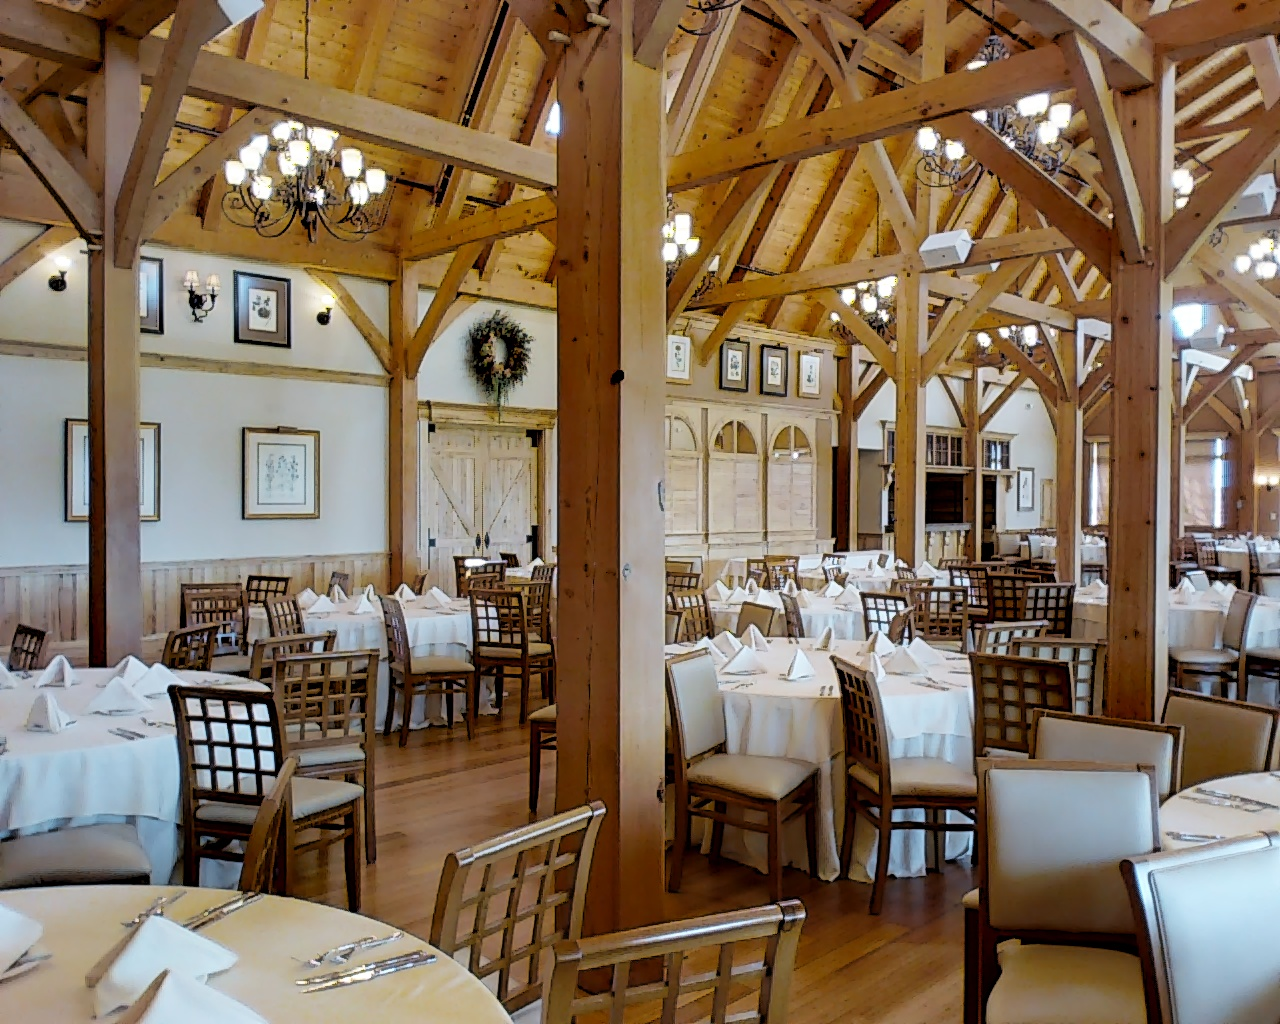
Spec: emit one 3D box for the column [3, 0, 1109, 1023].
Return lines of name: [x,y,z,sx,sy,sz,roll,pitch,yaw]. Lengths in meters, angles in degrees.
column: [-0.150,-1.050,3.250,1.820,5.049,2.980,0,1,-1]

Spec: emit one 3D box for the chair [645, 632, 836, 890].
chair: [0.410,0.970,4.360,0.630,0.870,0.450,1,1,34]

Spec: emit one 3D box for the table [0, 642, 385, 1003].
table: [-2.380,1.080,4.180,2.010,0.750,1.920,1,2,45]

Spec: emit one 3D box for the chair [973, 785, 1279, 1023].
chair: [1.070,1.070,2.350,0.590,0.770,0.520,1,1,11]

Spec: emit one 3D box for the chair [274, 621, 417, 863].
chair: [-1.300,0.980,4.720,0.510,0.920,0.400,1,2,44]

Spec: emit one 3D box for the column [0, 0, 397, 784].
column: [-3.160,-1.100,6.440,2.970,4.959,1.930,0,1,-1]

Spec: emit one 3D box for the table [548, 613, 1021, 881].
table: [0.850,1.020,5.380,1.920,0.730,1.990,1,1,22]

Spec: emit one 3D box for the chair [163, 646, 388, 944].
chair: [-1.320,0.990,3.940,0.480,0.880,0.630,1,1,24]
